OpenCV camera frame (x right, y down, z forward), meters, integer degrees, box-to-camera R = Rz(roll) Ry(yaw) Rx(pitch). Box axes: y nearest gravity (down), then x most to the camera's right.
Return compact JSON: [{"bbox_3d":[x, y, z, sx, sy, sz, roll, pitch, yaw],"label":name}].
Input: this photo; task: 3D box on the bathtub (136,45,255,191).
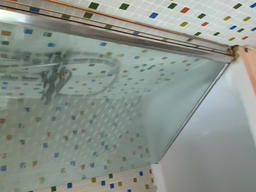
[{"bbox_3d":[0.650,0.690,1.120,0.740,0.610,1.650,-31,64,51],"label":"bathtub"}]
